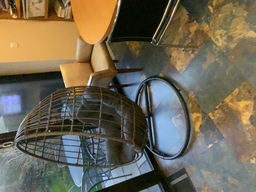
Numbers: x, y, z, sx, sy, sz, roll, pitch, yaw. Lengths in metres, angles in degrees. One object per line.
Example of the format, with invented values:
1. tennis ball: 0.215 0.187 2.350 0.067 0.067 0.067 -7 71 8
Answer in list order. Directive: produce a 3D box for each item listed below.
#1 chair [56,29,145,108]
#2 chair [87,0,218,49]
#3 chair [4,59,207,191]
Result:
1. chair: -0.390 -0.360 2.710 0.650 0.830 0.660 65 147 26
2. chair: 0.170 -0.690 1.670 0.500 0.810 0.410 57 142 37
3. chair: -0.270 0.340 2.060 0.960 1.460 0.910 66 147 25
